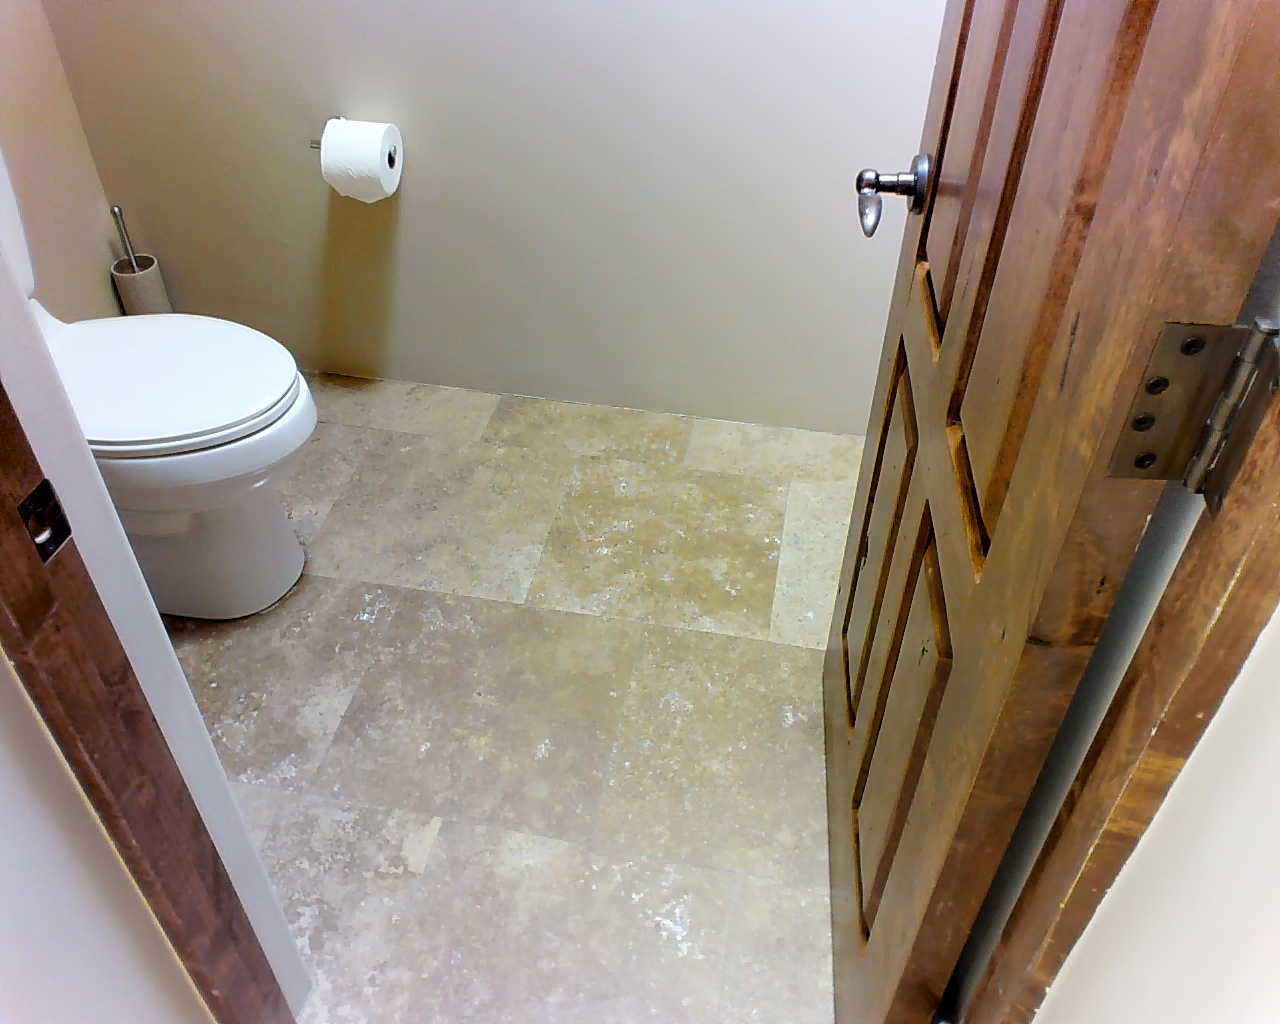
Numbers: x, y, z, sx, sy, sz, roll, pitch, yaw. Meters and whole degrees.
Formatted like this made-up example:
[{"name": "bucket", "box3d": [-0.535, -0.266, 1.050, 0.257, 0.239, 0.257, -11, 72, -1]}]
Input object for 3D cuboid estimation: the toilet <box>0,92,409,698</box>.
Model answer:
[{"name": "toilet", "box3d": [-0.900, -0.190, 1.780, 0.790, 0.820, 0.470, 7, 42, 8]}]
